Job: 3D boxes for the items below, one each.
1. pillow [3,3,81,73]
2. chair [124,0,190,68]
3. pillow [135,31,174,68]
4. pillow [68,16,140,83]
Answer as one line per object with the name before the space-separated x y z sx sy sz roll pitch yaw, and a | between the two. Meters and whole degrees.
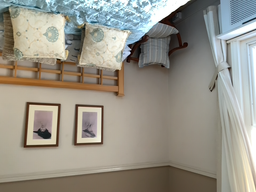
pillow | -0.700 -0.490 1.760 0.410 0.410 0.220 -34 171 -32
chair | 0.370 -0.820 2.770 0.690 0.730 0.480 4 172 -28
pillow | 0.340 -0.610 2.800 0.410 0.370 0.190 -12 173 -6
pillow | -0.230 -0.460 2.050 0.480 0.460 0.200 -36 171 -30
